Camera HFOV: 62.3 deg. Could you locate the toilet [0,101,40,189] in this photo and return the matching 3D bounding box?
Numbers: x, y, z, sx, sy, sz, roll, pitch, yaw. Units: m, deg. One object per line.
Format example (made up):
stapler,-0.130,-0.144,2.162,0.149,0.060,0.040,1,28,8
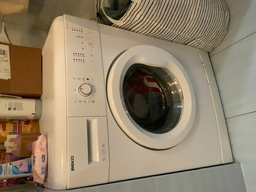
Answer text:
toilet,-0.540,0.230,0.920,0.350,0.240,0.320,-35,58,53
